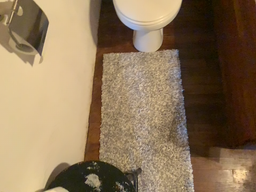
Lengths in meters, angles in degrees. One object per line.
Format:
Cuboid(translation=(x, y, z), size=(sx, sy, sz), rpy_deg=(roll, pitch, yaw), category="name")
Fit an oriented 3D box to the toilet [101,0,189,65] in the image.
Cuboid(translation=(0.090, -0.630, 1.130), size=(0.350, 0.720, 0.650), rpy_deg=(-1, 70, 5), category="toilet")
